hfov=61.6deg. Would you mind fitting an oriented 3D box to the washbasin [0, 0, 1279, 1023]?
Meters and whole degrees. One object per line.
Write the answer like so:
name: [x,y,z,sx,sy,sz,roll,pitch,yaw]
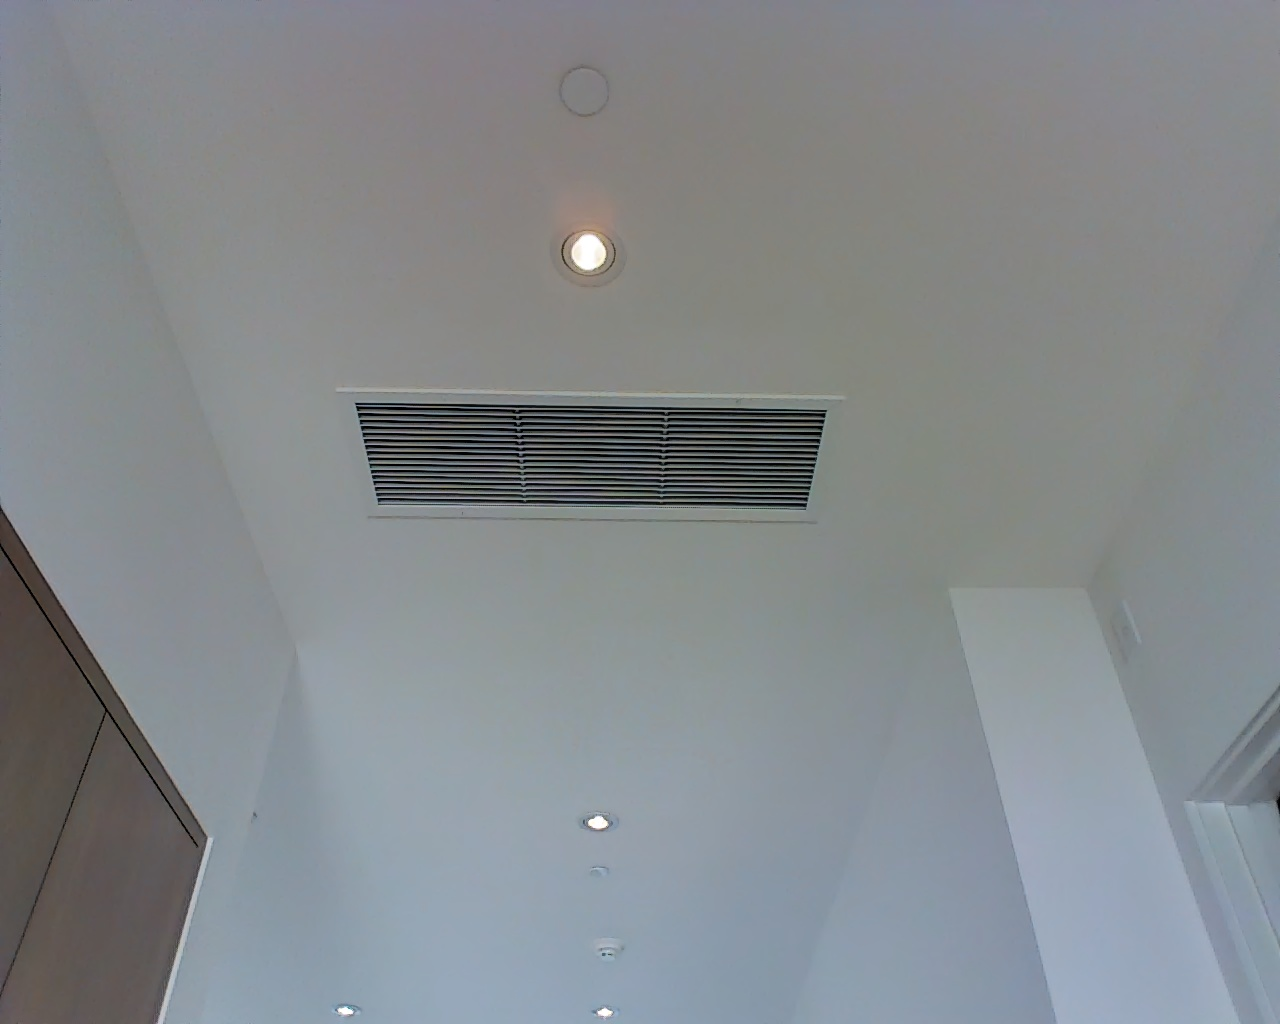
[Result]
washbasin: [-0.110,3.361,3.600,2.999,3.511,11.051,0,-42,0]
